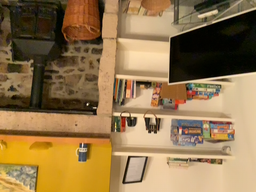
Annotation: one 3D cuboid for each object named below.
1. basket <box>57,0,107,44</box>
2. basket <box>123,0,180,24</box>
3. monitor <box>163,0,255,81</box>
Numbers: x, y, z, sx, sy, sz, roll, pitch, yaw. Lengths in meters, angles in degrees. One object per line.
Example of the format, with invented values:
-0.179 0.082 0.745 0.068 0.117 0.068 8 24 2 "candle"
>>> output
-0.480 -0.910 2.350 0.460 0.490 0.450 3 173 -6 "basket"
0.230 -1.060 2.340 0.500 0.260 0.540 3 173 -8 "basket"
0.670 -0.440 1.910 0.050 0.510 0.880 7 172 -38 "monitor"
